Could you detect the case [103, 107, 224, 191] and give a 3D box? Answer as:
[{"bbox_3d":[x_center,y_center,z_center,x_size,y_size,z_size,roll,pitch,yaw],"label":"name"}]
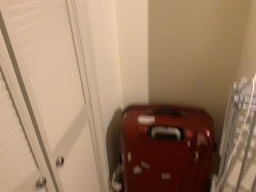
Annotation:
[{"bbox_3d":[0.220,0.470,1.440,0.620,0.630,0.420,3,31,10],"label":"case"}]
